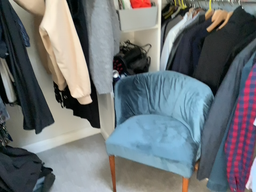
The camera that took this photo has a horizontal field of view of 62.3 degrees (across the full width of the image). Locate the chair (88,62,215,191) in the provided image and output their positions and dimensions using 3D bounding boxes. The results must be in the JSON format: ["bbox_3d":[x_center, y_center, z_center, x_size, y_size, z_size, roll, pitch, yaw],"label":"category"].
[{"bbox_3d":[0.170,0.230,1.290,0.540,0.690,0.520,10,29,22],"label":"chair"}]

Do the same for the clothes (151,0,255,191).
[{"bbox_3d":[0.780,0.310,0.700,0.340,1.070,2.260,-13,29,-20],"label":"clothes"}]
